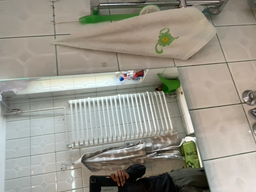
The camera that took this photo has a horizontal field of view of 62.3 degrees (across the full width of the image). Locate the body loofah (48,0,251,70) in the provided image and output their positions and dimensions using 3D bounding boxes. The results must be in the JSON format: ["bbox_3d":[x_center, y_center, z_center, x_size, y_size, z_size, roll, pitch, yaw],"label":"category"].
[{"bbox_3d":[0.090,-0.300,0.920,0.150,0.800,0.270,112,149,-66],"label":"body loofah"}]
